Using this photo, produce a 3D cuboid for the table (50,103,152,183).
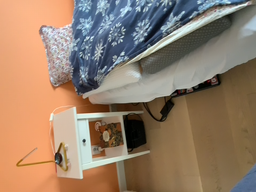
[{"bbox_3d":[-0.210,0.350,1.760,0.380,0.690,0.510,-20,75,45],"label":"table"}]
